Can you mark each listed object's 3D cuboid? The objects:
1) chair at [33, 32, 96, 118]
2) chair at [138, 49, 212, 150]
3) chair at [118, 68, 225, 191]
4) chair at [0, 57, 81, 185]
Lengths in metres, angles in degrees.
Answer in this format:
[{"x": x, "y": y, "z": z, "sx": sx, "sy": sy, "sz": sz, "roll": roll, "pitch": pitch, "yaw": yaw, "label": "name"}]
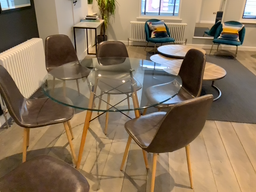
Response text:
[{"x": -0.730, "y": -0.270, "z": 2.510, "sx": 0.480, "sy": 0.820, "sz": 0.500, "roll": -18, "pitch": 33, "yaw": -34, "label": "chair"}, {"x": 0.390, "y": 0.020, "z": 2.000, "sx": 0.460, "sy": 0.810, "sz": 0.420, "roll": -5, "pitch": 27, "yaw": -12, "label": "chair"}, {"x": 0.230, "y": 0.290, "z": 1.480, "sx": 0.390, "sy": 0.790, "sz": 0.540, "roll": -14, "pitch": 31, "yaw": -27, "label": "chair"}, {"x": -0.720, "y": 0.170, "z": 1.670, "sx": 0.530, "sy": 0.800, "sz": 0.410, "roll": -12, "pitch": 30, "yaw": -25, "label": "chair"}]
